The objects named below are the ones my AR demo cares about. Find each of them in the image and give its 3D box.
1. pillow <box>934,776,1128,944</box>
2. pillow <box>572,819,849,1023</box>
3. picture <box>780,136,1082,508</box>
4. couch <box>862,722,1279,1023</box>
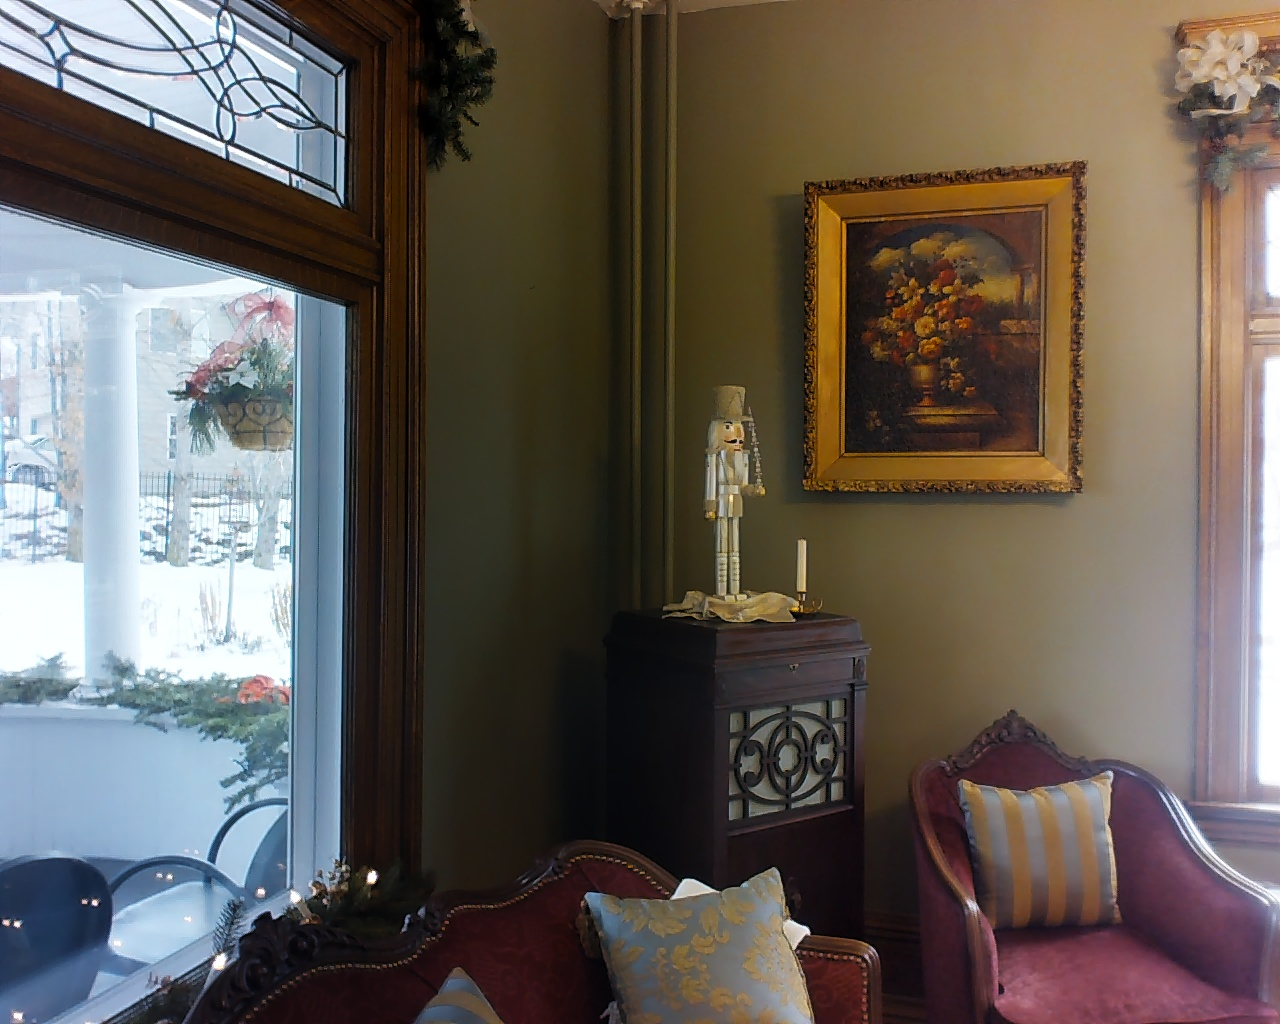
[{"bbox_3d":[0.980,0.870,2.720,0.420,0.360,0.180,0,0,-4],"label":"pillow"},{"bbox_3d":[0.130,0.860,1.980,0.420,0.420,0.210,23,-37,-11],"label":"pillow"},{"bbox_3d":[0.830,-0.520,3.130,0.820,1.010,0.150,1,0,18],"label":"picture"},{"bbox_3d":[1.000,1.030,2.550,0.780,0.910,0.750,0,0,-1],"label":"couch"}]
